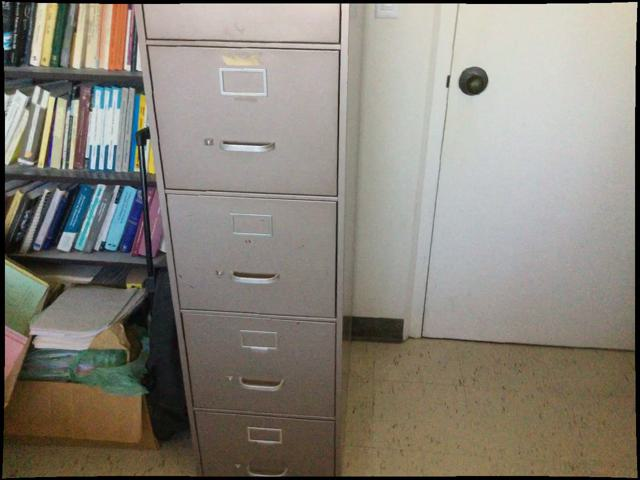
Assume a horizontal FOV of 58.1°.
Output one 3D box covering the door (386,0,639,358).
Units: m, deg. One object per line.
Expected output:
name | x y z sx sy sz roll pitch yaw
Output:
door | 0.848 -0.571 1.720 1.137 2.174 0.130 3 27 3
